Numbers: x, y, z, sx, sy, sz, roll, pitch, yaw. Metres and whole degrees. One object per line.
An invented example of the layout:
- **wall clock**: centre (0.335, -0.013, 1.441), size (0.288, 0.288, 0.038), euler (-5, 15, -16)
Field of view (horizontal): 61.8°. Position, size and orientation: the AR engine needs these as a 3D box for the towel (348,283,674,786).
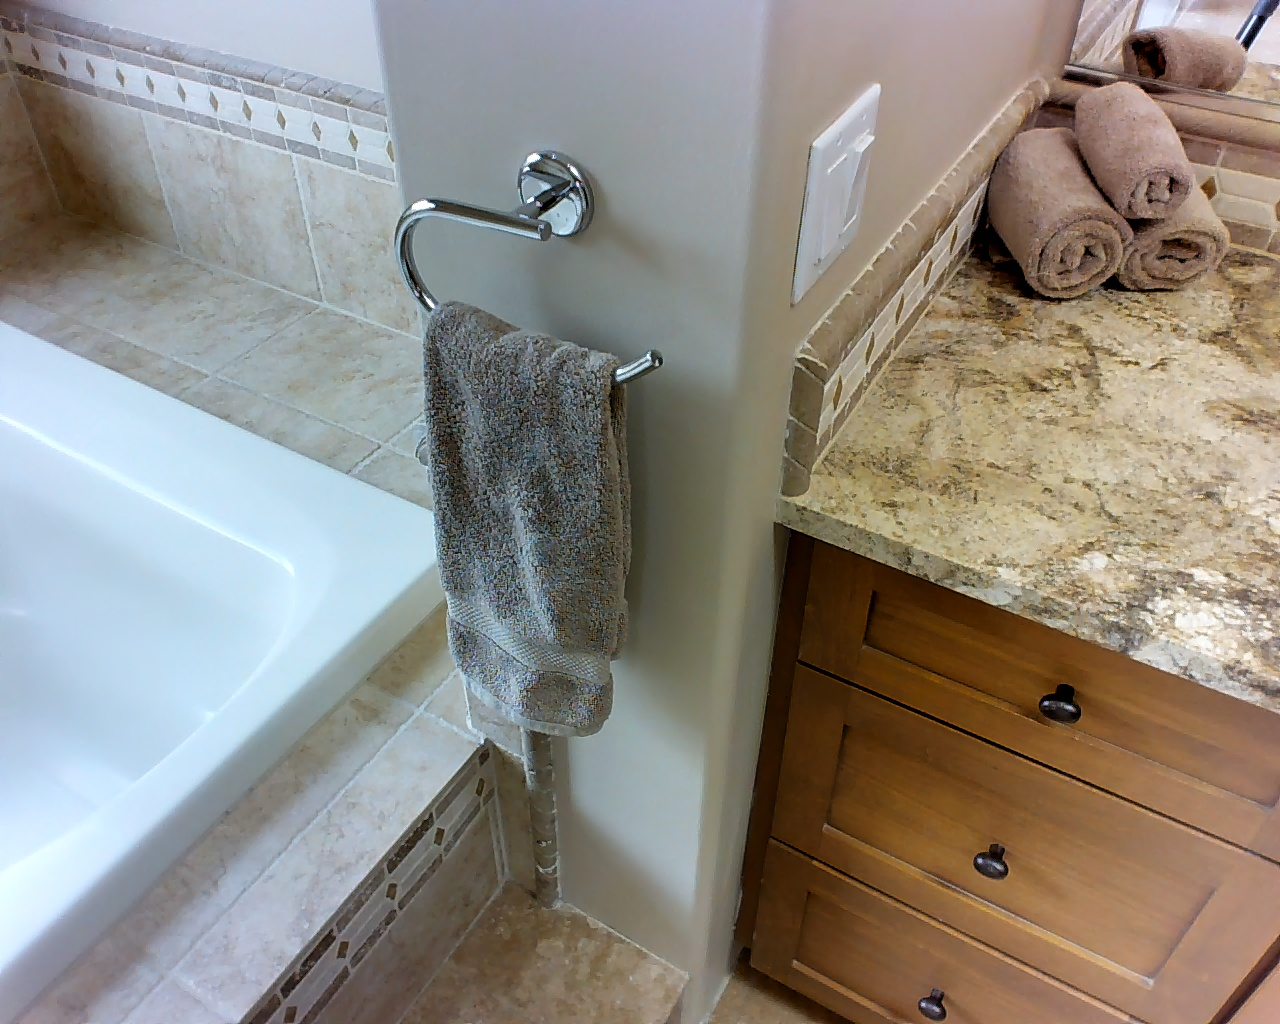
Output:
- **towel**: centre (-0.090, 0.030, 0.850), size (0.200, 0.370, 0.100), euler (20, 45, 22)
